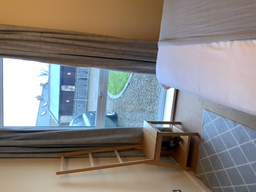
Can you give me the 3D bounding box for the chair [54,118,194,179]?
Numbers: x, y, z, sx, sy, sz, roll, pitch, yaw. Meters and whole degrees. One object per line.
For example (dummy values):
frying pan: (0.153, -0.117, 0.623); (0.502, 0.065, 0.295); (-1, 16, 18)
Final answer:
chair: (-0.040, 0.520, 2.260); (0.410, 1.370, 0.450); (-147, 61, -71)
